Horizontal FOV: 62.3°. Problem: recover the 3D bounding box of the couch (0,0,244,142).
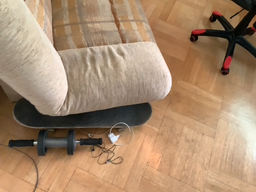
[{"bbox_3d":[-0.360,-0.830,1.310,0.880,0.870,1.890,-6,62,-15],"label":"couch"}]
